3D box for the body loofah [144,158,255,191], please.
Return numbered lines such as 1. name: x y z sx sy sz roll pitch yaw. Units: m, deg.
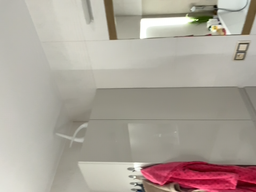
1. body loofah: 0.500 0.610 1.330 0.220 0.790 0.460 -85 -7 -45
